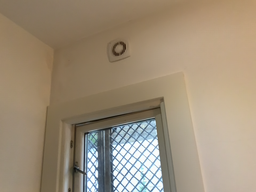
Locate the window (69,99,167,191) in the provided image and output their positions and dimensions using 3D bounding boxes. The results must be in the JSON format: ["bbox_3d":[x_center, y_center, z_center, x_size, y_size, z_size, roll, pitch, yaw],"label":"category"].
[{"bbox_3d":[-0.090,0.370,1.280,0.610,0.610,0.050,-12,-23,23],"label":"window"}]
